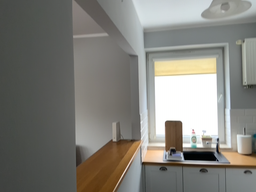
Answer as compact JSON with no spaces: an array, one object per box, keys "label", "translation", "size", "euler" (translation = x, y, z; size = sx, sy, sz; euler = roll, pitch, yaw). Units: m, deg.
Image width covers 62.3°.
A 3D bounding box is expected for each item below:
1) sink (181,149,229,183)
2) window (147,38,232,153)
[{"label":"sink","translation":[0.960,0.880,2.740],"size":[0.510,0.240,0.520],"euler":[-2,0,13]},{"label":"window","translation":[0.950,0.010,3.370],"size":[1.240,1.730,0.100],"euler":[-2,0,10]}]
